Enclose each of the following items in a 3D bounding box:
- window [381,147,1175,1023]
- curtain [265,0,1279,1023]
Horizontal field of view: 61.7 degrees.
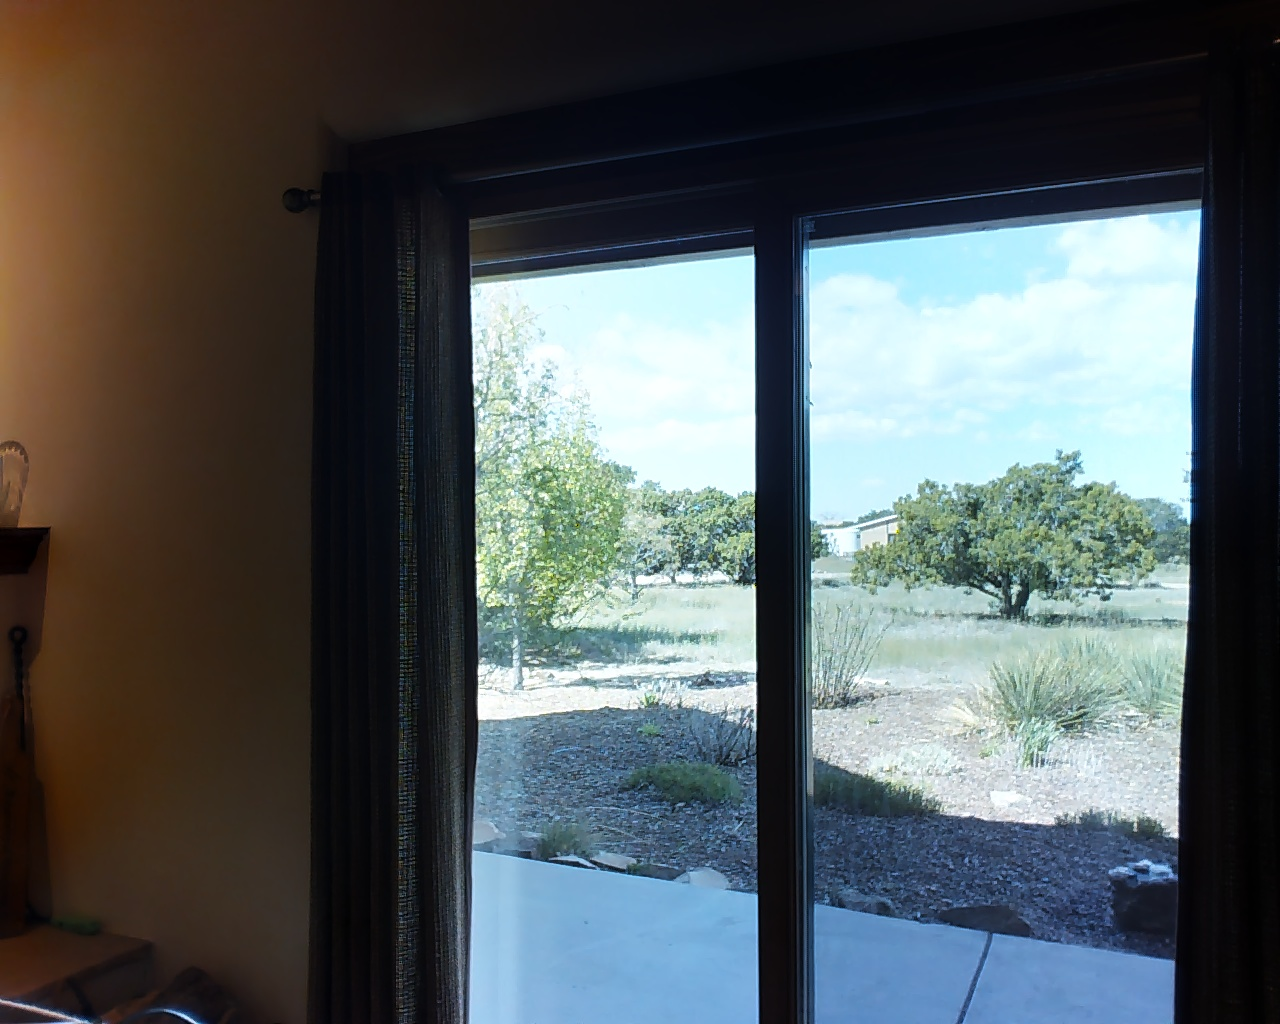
[{"bbox_3d":[0.180,0.430,2.020,1.470,1.960,0.220,0,-1,24],"label":"window"},{"bbox_3d":[0.200,0.380,1.790,1.940,2.100,0.250,0,-1,25],"label":"curtain"}]
